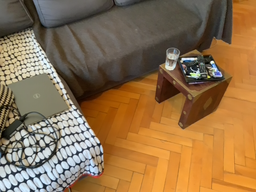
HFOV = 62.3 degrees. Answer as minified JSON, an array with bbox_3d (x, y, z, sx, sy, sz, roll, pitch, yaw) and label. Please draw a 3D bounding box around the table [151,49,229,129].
[{"bbox_3d":[0.450,-0.060,1.640,0.360,0.370,0.360,-27,54,-23],"label":"table"}]
